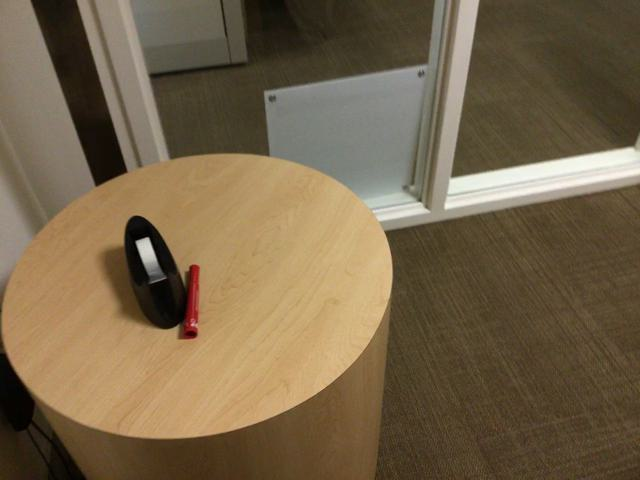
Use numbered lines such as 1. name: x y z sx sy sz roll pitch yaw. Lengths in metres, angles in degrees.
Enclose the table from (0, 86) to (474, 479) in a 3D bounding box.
1. table: -0.180 0.220 1.080 0.610 0.680 0.620 -13 45 -9
